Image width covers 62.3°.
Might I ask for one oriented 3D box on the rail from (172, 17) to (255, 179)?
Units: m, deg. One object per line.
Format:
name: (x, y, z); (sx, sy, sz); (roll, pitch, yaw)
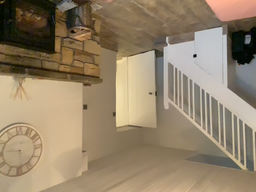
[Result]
rail: (1.760, 0.030, 3.330); (2.240, 2.410, 0.130); (-1, 179, 36)
